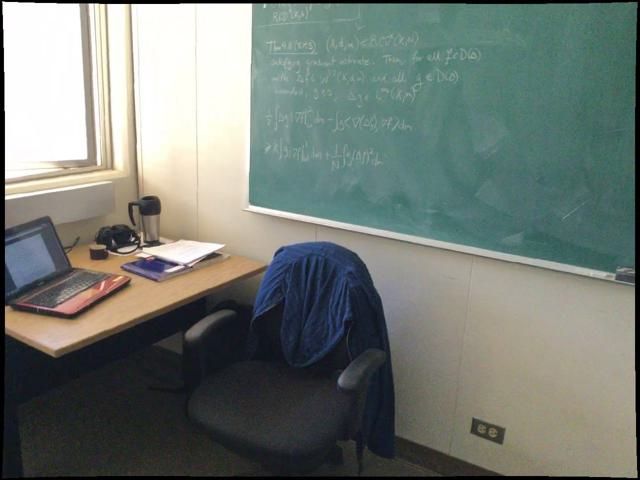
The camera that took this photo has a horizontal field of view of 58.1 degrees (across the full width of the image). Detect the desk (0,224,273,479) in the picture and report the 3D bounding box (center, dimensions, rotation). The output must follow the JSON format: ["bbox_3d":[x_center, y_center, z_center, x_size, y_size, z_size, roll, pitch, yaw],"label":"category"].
[{"bbox_3d":[-0.798,0.451,2.230,0.809,0.732,0.979,11,18,29],"label":"desk"}]
